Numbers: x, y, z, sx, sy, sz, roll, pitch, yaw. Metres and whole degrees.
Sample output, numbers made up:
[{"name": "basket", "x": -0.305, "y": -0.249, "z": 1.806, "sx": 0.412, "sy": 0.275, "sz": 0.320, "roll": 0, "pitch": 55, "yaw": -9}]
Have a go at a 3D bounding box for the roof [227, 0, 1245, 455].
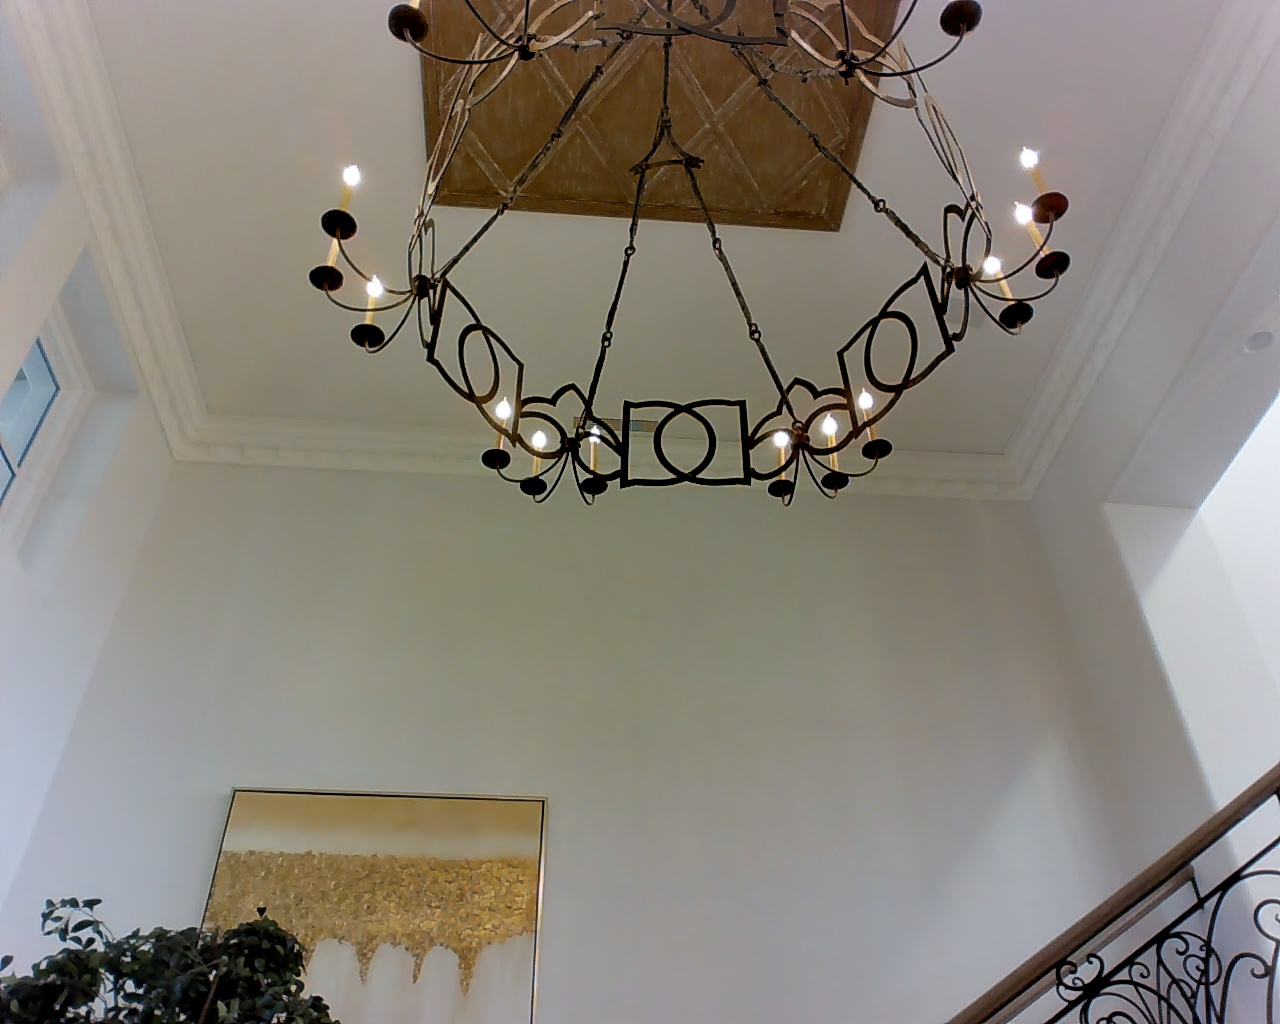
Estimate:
[{"name": "roof", "x": 0.360, "y": -1.761, "z": 5.190, "sx": 4.347, "sy": 0.130, "sz": 3.811, "roll": 3, "pitch": -41, "yaw": -3}]
